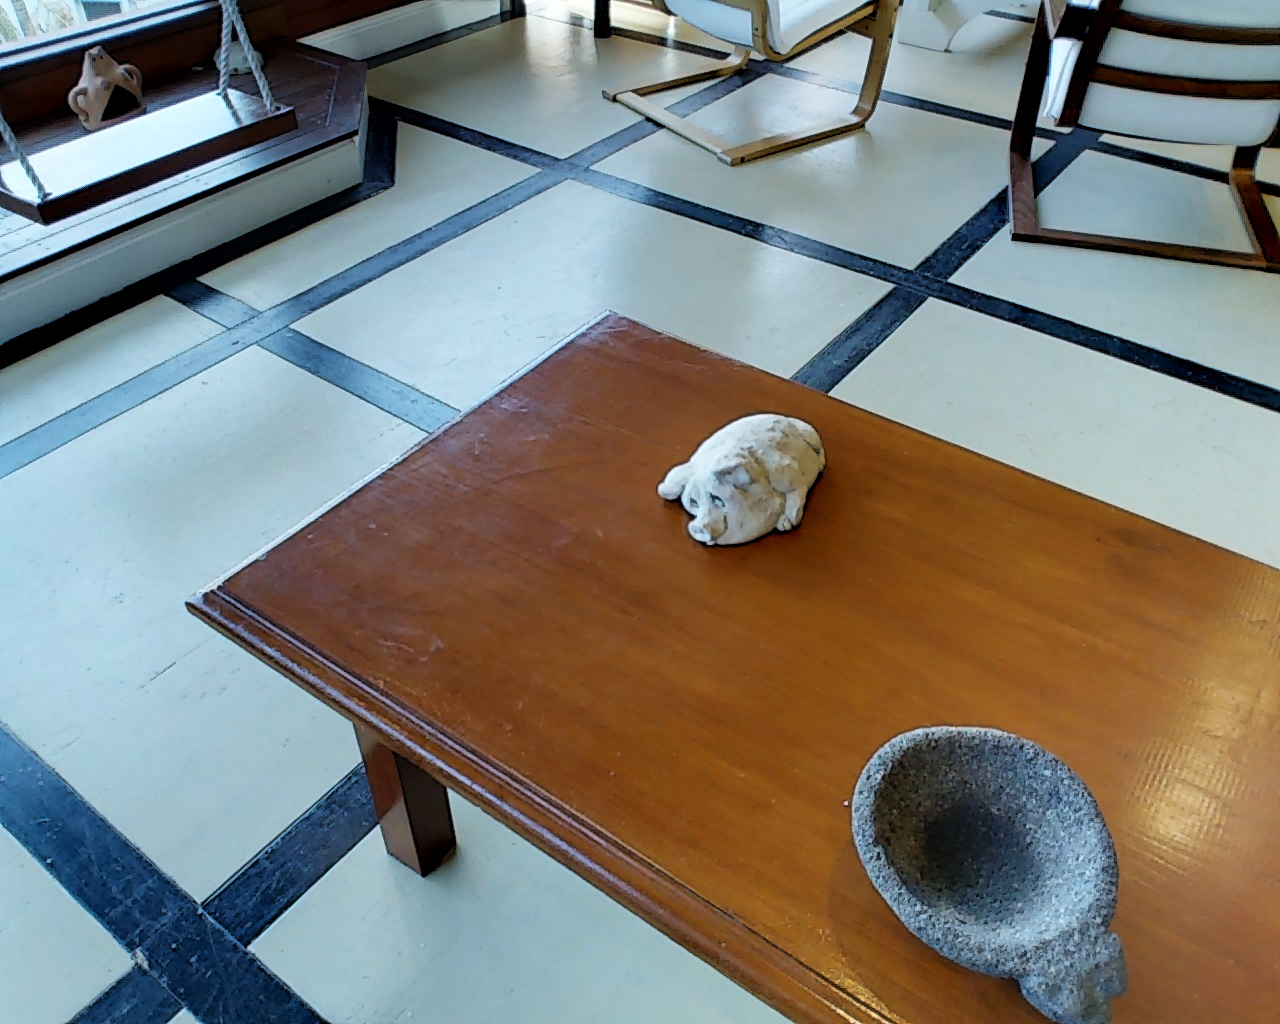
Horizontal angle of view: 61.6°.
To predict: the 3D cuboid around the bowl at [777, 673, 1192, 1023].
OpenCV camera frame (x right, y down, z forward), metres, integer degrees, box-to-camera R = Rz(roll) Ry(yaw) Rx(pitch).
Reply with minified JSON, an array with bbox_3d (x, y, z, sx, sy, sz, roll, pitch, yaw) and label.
[{"bbox_3d":[0.260,0.270,0.810,0.210,0.080,0.240,27,47,26],"label":"bowl"}]
